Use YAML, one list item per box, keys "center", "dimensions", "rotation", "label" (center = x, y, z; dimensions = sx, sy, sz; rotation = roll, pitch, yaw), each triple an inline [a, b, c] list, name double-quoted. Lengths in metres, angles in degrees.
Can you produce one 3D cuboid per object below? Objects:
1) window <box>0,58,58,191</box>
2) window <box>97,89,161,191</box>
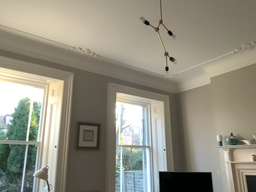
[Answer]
- center: [-1.870, 0.620, 3.150]
  dimensions: [1.360, 2.320, 0.350]
  rotation: [11, -19, -36]
  label: "window"
- center: [0.060, 1.050, 4.610]
  dimensions: [1.350, 2.170, 0.410]
  rotation: [11, -19, -36]
  label: "window"
